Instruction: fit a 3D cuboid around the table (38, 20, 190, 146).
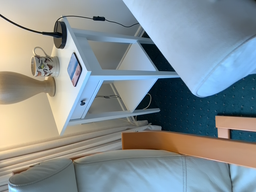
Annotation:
[{"bbox_3d":[-0.100,-0.070,1.270,0.380,0.670,0.520,58,135,30],"label":"table"}]
